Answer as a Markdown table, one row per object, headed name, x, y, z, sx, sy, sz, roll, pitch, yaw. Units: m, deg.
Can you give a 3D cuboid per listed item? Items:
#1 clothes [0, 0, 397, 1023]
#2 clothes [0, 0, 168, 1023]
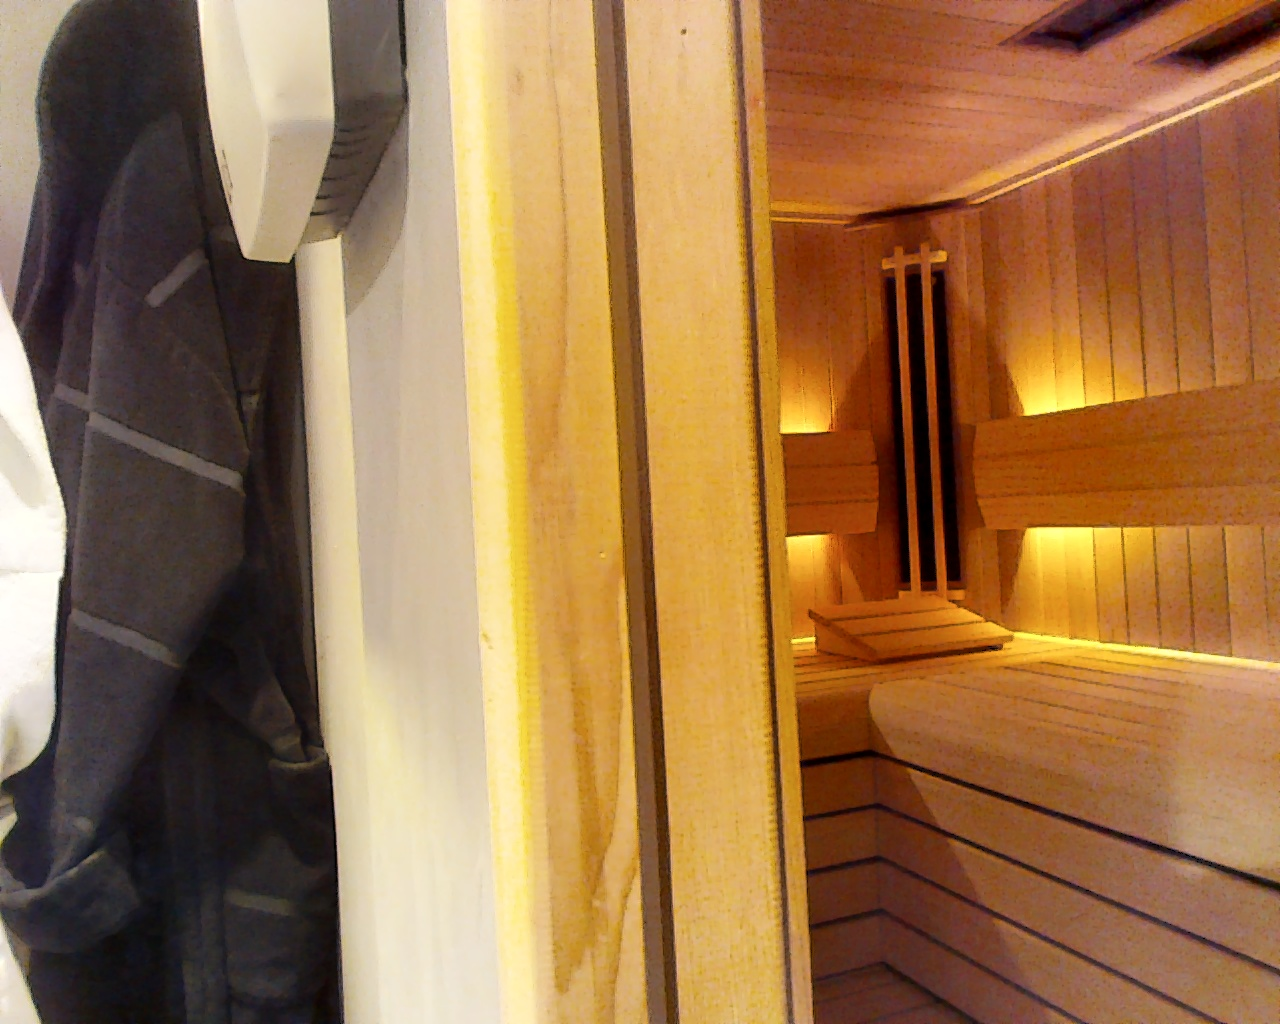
| name | x | y | z | sx | sy | sz | roll | pitch | yaw |
| --- | --- | --- | --- | --- | --- | --- | --- | --- | --- |
| clothes | -0.390 | -0.020 | 0.840 | 0.320 | 1.060 | 0.250 | -4 | 0 | -18 |
| clothes | -0.540 | 0.060 | 0.790 | 0.300 | 1.210 | 0.250 | -4 | 0 | -22 |
